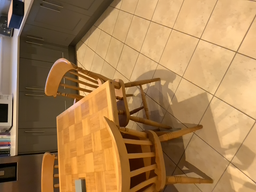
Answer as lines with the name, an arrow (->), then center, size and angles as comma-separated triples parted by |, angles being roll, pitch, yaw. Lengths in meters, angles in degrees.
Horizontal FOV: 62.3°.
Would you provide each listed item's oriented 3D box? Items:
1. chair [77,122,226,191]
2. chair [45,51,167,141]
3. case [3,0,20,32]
chair -> 0.150, 0.430, 1.390 | 0.500, 0.800, 0.440 | -23, 68, 50
chair -> -0.180, 0.050, 1.810 | 0.500, 0.860, 0.550 | -22, 70, 49
case -> -1.560, -1.090, 2.830 | 0.420, 0.140, 0.260 | -26, 67, 49
